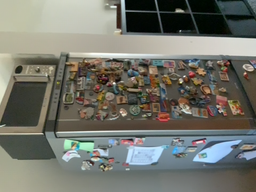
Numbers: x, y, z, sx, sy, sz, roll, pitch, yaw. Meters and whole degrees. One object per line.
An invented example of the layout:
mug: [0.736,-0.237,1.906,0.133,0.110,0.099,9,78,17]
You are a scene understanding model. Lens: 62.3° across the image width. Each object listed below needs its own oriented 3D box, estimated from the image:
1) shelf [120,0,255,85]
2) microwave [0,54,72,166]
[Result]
shelf: [0.650,-0.910,2.510,0.450,1.450,1.610,98,171,-54]
microwave: [-0.650,0.130,1.530,0.630,0.340,0.570,99,170,-58]
